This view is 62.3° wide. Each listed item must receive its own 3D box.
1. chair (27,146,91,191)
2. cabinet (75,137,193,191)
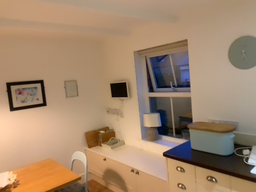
[{"bbox_3d":[-0.780,1.090,2.460,0.490,0.810,0.520,-10,8,-42],"label":"chair"},{"bbox_3d":[-0.030,1.080,2.980,0.510,0.600,1.790,-10,8,-43],"label":"cabinet"}]
